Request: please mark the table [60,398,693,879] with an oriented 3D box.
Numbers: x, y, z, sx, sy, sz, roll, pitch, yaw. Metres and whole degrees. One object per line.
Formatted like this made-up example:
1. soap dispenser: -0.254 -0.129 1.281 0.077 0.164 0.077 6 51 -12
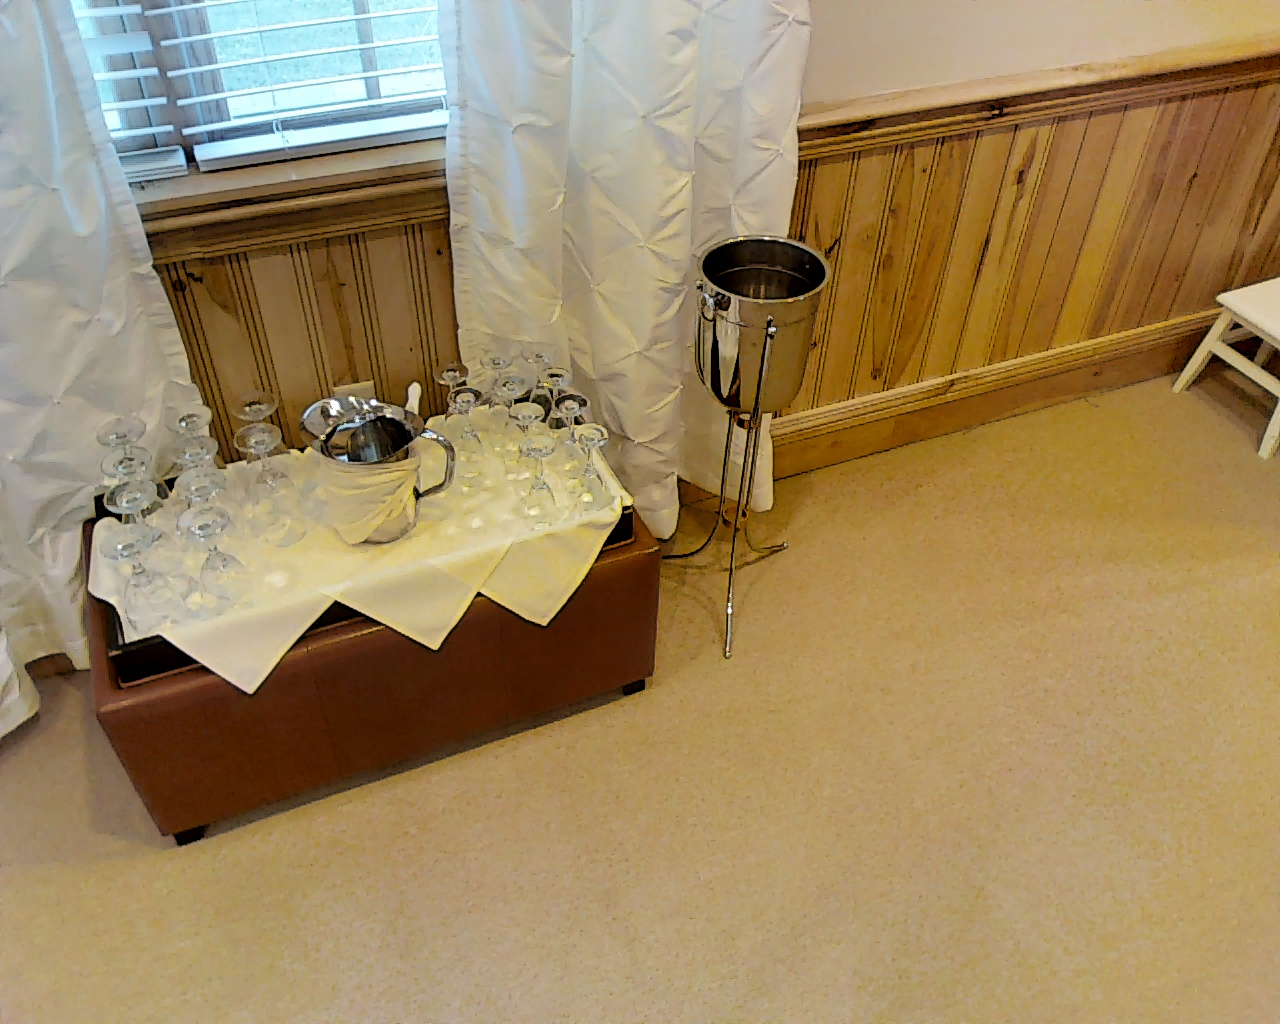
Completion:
1. table: -0.440 0.200 1.950 0.970 0.470 0.400 -15 44 -18
